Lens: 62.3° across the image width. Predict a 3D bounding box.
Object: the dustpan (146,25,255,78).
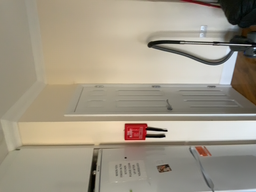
[{"bbox_3d":[0.880,-0.500,2.340,0.700,1.240,0.460,-103,15,-74],"label":"dustpan"}]
